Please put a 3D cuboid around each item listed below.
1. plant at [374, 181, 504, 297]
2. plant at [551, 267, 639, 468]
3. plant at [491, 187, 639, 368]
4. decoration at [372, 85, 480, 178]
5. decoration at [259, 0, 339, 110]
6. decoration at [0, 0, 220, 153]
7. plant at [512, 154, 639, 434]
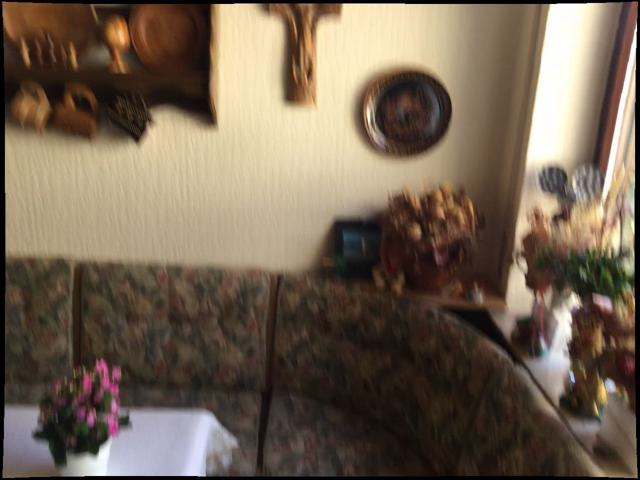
[{"bbox_3d":[0.380,-0.010,1.920,0.350,0.320,0.230,2,17,-3],"label":"plant"},{"bbox_3d":[0.709,0.240,1.170,0.310,0.260,0.340,2,17,-2],"label":"plant"},{"bbox_3d":[0.729,0.090,1.690,0.290,0.400,0.400,2,17,-2],"label":"plant"},{"bbox_3d":[0.360,-0.370,1.990,0.340,0.300,0.040,2,17,-3],"label":"decoration"},{"bbox_3d":[-0.070,-0.661,1.890,0.250,0.450,0.050,2,17,-3],"label":"decoration"},{"bbox_3d":[-0.859,-0.731,1.780,1.069,0.861,0.140,2,17,-3],"label":"decoration"},{"bbox_3d":[0.709,0.100,1.360,0.300,0.530,0.420,2,17,-2],"label":"plant"}]
